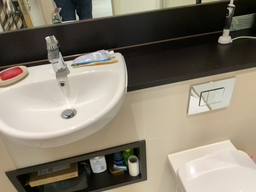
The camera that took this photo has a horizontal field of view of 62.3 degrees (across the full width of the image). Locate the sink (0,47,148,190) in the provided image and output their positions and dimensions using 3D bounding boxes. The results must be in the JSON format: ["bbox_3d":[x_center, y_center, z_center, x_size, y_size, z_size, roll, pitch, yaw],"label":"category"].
[{"bbox_3d":[-0.250,0.040,0.850,0.540,0.220,0.470,-11,38,-9],"label":"sink"}]
